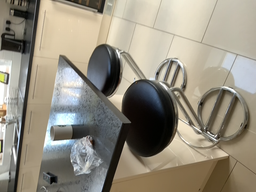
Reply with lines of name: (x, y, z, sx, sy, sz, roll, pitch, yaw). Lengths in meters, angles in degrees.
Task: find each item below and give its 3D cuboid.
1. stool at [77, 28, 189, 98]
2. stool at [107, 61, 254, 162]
stool: (0.040, -0.230, 1.630, 0.360, 0.710, 0.360, 40, 120, 48)
stool: (0.310, 0.070, 1.240, 0.360, 0.710, 0.360, 42, 121, 47)
